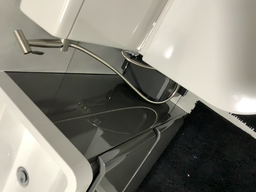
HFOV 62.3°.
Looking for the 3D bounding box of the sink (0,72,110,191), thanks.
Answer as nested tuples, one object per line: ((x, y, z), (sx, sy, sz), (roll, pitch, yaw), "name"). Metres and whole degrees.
((-0.360, 0.300, 0.650), (0.410, 0.100, 0.620), (38, 112, 22), "sink")

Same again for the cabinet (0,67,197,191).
((-0.130, 0.260, 0.990), (0.440, 0.750, 0.620), (38, 112, 22), "cabinet")
